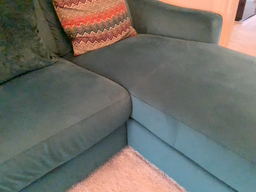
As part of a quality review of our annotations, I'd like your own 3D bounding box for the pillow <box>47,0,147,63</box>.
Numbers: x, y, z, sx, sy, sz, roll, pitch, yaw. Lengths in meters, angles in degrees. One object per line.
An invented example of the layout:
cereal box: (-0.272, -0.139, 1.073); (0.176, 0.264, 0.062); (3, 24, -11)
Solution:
pillow: (-0.150, -0.510, 1.210); (0.190, 0.410, 0.450); (25, 66, 37)
